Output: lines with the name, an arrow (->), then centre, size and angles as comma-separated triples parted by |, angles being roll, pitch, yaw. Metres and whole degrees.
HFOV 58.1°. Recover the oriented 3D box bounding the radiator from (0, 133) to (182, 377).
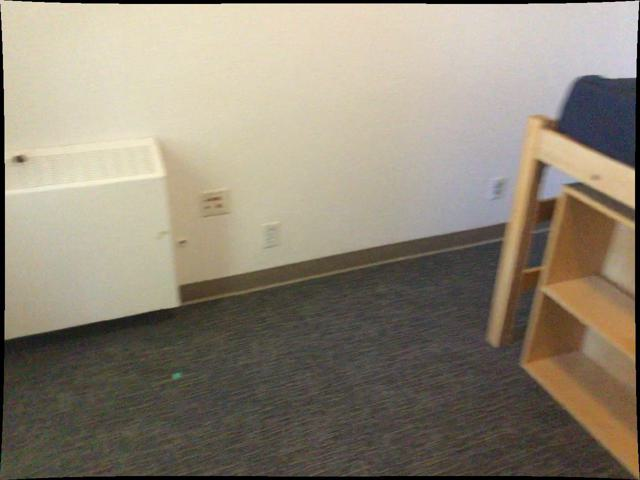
radiator -> -1.018, 0.080, 2.050 | 0.939, 0.781, 0.200 | -11, 33, -21
